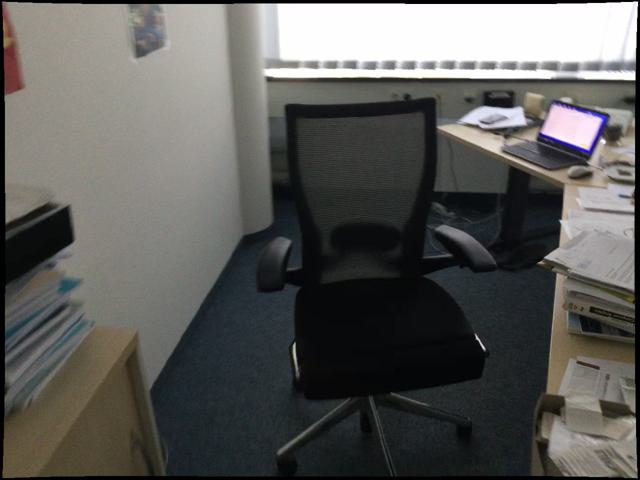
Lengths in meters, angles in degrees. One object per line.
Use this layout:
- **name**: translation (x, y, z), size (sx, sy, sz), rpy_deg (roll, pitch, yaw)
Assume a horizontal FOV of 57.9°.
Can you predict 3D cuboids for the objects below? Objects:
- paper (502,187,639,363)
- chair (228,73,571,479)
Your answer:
- **paper**: translation (0.739, 0.080, 1.340), size (0.470, 0.180, 0.410), rpy_deg (19, 35, 33)
- **chair**: translation (0.150, 0.150, 1.740), size (0.689, 1.091, 0.750), rpy_deg (-3, 29, -3)
